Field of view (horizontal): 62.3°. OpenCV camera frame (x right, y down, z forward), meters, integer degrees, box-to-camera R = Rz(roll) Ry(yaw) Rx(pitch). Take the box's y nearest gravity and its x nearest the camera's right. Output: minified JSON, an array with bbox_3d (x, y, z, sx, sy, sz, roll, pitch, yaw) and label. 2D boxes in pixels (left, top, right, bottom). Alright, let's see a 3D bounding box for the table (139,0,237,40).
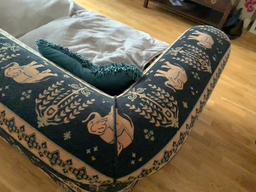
[{"bbox_3d":[0.760,-1.250,2.780,1.110,0.480,0.430,30,48,18],"label":"table"}]
